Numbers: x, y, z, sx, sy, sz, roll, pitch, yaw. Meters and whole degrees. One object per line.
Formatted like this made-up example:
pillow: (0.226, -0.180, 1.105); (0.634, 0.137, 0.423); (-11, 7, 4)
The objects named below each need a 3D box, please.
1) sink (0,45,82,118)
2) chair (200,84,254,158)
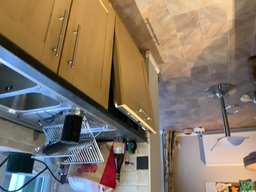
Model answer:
sink: (-0.490, -0.050, 1.060); (0.420, 0.210, 0.240); (-8, 153, 22)
chair: (1.160, 0.310, 2.590); (0.400, 0.810, 0.380); (-1, 155, 8)
